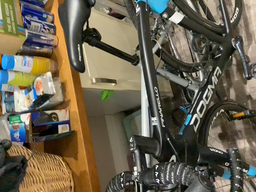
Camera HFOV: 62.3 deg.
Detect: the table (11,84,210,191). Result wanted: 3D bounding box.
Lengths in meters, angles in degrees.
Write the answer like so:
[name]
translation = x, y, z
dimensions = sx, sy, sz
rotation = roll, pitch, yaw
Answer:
[table]
translation = -0.060, 0.330, 1.250
dimensions = 0.610, 0.900, 0.570
rotation = -23, 74, 38
